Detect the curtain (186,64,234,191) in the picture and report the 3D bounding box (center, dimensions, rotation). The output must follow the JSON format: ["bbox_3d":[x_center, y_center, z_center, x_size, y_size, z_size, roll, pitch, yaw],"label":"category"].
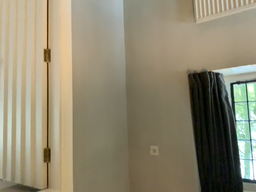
[{"bbox_3d":[0.660,0.340,1.710,0.280,1.160,0.100,-5,174,31],"label":"curtain"}]

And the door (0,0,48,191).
[{"bbox_3d":[-0.940,-0.260,1.790,0.750,2.020,0.050,-6,174,32],"label":"door"}]
